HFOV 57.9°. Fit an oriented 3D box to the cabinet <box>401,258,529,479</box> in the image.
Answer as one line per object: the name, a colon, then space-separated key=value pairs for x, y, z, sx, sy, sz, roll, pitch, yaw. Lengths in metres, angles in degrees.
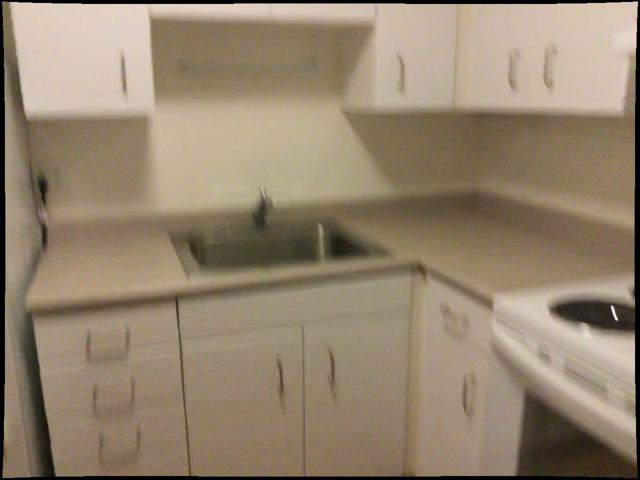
cabinet: x=0.390 y=0.521 z=1.690 sx=0.100 sy=0.831 sz=0.470 roll=-7 pitch=17 yaw=-18

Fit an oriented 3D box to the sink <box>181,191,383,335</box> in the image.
sink: x=-0.150 y=0.040 z=1.920 sx=0.530 sy=0.260 sz=0.550 roll=-7 pitch=17 yaw=-18

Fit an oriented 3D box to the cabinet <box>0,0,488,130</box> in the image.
cabinet: x=-0.599 y=-0.911 z=1.660 sx=2.258 sy=1.101 sz=0.420 roll=-7 pitch=17 yaw=-18

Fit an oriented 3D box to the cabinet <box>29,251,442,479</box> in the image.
cabinet: x=-0.170 y=0.531 z=1.730 sx=1.129 sy=0.861 sz=0.110 roll=-7 pitch=17 yaw=-18
